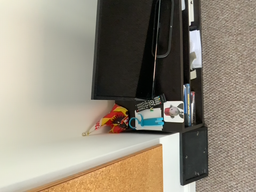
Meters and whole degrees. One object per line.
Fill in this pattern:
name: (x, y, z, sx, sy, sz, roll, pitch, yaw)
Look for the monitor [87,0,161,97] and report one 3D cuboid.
monitor: (0.020, -0.360, 0.880, 0.050, 0.420, 0.720, 4, 91, 33)
